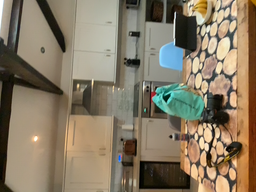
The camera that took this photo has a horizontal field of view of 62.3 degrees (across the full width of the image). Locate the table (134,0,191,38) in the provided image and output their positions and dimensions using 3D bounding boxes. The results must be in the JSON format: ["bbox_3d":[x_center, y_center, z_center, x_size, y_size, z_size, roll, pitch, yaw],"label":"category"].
[{"bbox_3d":[0.610,-1.520,3.940,0.640,0.890,0.590,148,124,-81],"label":"table"}]
